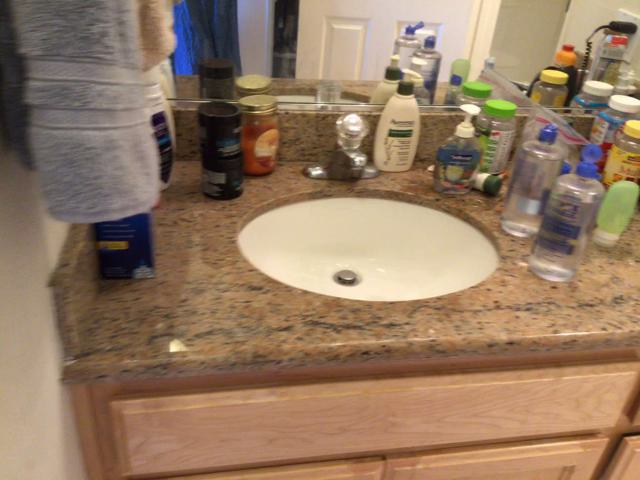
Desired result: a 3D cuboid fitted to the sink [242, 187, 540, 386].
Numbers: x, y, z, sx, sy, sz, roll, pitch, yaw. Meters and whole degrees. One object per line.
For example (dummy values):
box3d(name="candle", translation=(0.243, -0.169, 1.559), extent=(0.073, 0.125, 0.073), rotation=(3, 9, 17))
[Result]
box3d(name="sink", translation=(0.080, 0.060, 0.980), extent=(0.420, 0.160, 0.340), rotation=(0, 31, -8))

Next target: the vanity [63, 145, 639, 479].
box3d(name="vanity", translation=(0.260, 0.290, 1.180), extent=(1.240, 0.770, 0.590), rotation=(-1, 33, -10))
